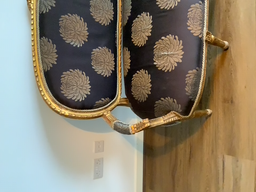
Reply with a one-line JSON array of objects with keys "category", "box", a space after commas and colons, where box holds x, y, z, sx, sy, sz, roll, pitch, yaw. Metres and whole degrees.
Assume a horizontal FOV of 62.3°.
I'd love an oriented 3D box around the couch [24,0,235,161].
[{"category": "couch", "box": [0.030, -0.590, 1.330, 0.810, 1.000, 1.620, 2, 90, 50]}]
